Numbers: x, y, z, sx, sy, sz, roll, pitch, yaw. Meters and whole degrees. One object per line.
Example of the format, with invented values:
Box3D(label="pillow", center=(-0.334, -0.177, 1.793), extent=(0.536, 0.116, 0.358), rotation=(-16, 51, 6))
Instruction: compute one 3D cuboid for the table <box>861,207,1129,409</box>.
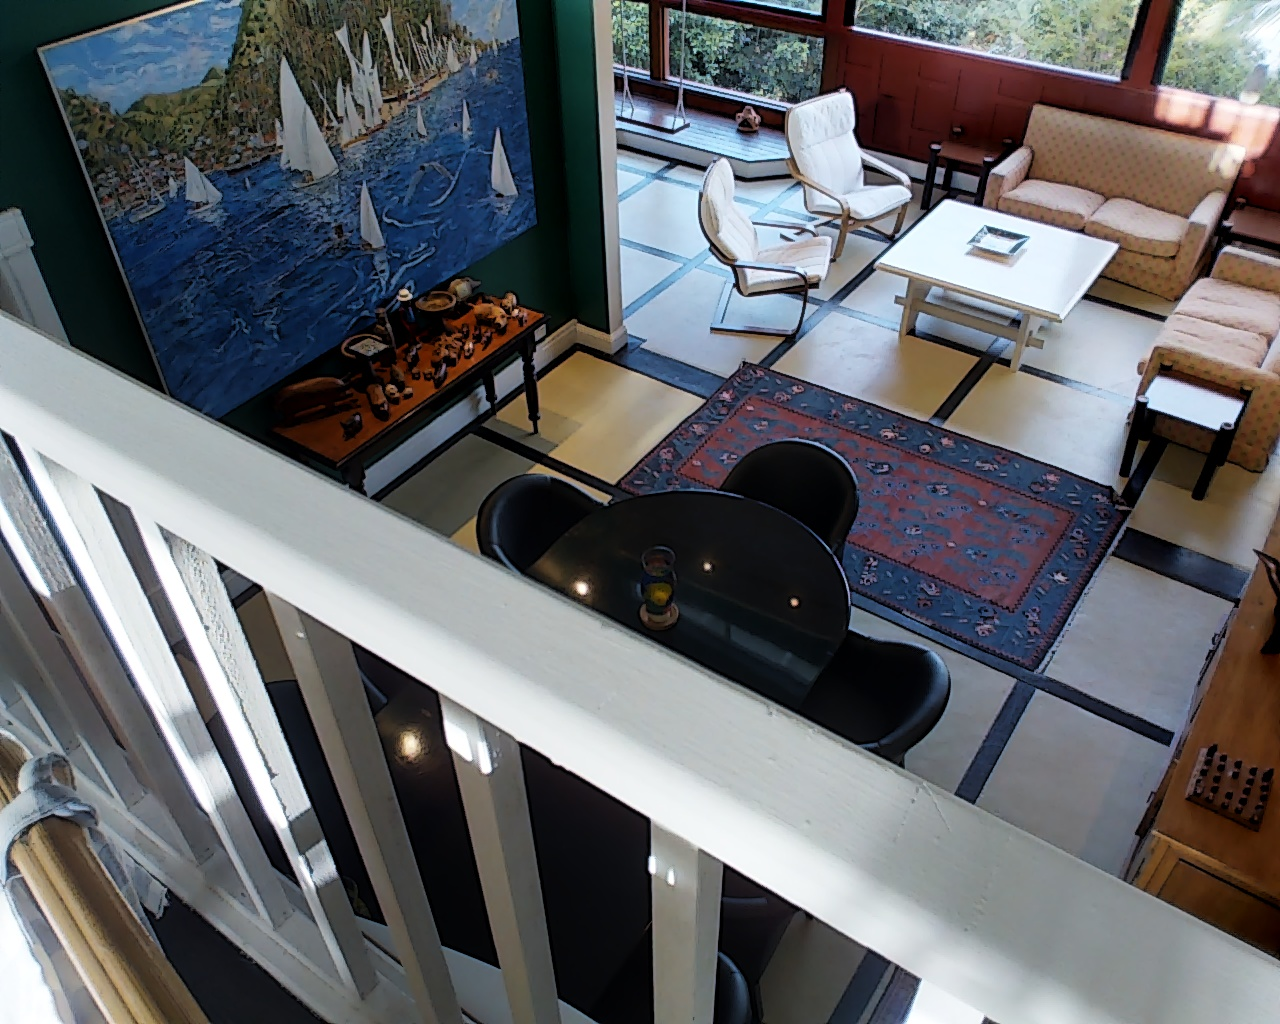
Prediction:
Box3D(label="table", center=(2.330, -1.390, 7.070), extent=(1.250, 0.530, 1.210), rotation=(24, 47, 26))

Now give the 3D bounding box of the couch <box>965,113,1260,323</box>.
Box3D(label="couch", center=(3.361, -2.160, 7.740), extent=(1.600, 0.830, 0.930), rotation=(24, 47, 26))
